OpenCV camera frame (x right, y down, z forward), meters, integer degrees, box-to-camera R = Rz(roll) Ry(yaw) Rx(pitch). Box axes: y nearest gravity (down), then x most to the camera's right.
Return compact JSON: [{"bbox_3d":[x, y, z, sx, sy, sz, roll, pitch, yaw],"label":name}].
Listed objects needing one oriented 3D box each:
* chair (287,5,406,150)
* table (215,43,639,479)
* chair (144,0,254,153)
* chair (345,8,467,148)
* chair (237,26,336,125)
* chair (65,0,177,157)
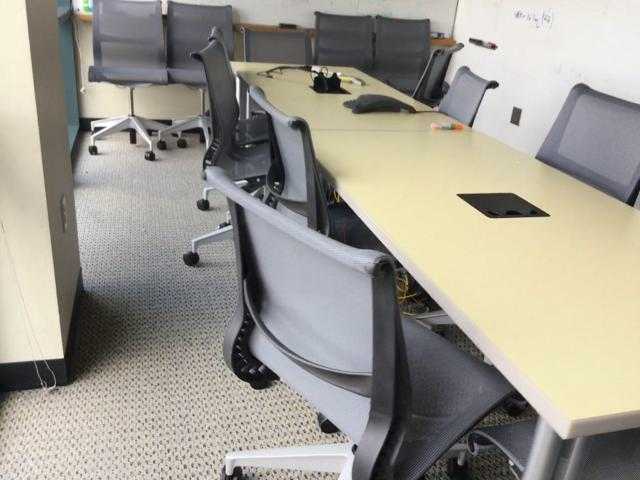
[{"bbox_3d":[0.160,-1.210,4.300,0.650,0.930,0.610,-3,26,-15],"label":"chair"},{"bbox_3d":[0.210,-0.150,2.300,0.910,0.800,3.090,-3,26,-15],"label":"table"},{"bbox_3d":[-0.840,-1.150,3.990,0.660,0.950,0.590,-3,26,-15],"label":"chair"},{"bbox_3d":[0.620,-1.240,4.420,0.640,0.930,0.570,-3,26,-15],"label":"chair"},{"bbox_3d":[-0.220,-0.980,3.420,0.480,0.480,0.470,-3,26,-15],"label":"chair"},{"bbox_3d":[-1.310,-1.110,3.830,0.580,0.930,0.690,-5,27,-19],"label":"chair"}]
